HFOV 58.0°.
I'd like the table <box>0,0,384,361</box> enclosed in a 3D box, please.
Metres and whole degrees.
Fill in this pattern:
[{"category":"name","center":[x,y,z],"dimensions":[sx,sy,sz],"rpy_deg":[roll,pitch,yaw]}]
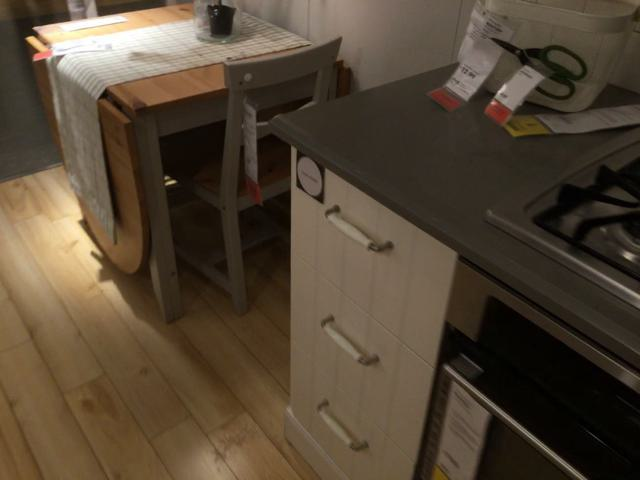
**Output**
[{"category":"table","center":[-0.450,-0.340,1.980],"dimensions":[0.780,0.810,1.000],"rpy_deg":[-22,42,-31]}]
